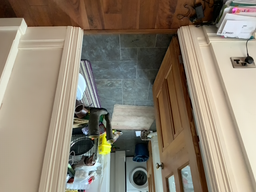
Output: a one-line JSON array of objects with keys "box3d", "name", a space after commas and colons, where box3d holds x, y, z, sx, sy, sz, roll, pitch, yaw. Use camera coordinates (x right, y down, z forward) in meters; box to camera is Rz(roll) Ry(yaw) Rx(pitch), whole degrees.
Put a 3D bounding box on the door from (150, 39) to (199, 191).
[{"box3d": [0.330, 0.520, 1.620, 0.080, 1.870, 0.750, 0, 150, -3], "name": "door"}]
